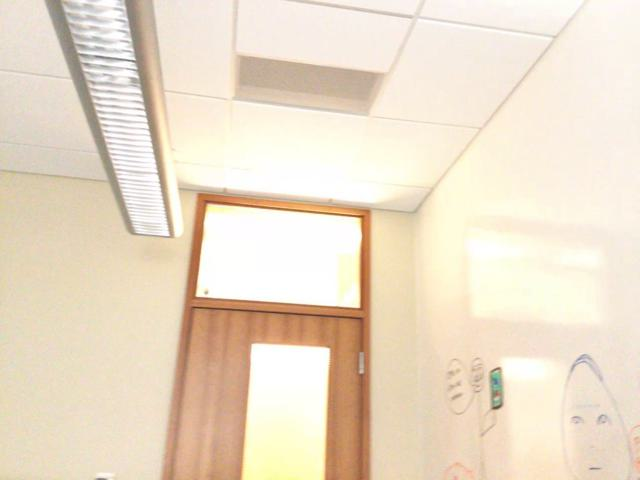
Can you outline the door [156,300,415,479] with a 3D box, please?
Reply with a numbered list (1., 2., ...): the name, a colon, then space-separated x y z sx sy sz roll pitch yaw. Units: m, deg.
1. door: -0.170 1.470 2.610 1.200 2.340 0.210 6 -25 -8
